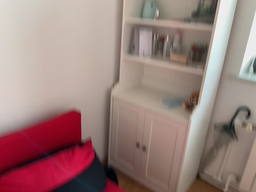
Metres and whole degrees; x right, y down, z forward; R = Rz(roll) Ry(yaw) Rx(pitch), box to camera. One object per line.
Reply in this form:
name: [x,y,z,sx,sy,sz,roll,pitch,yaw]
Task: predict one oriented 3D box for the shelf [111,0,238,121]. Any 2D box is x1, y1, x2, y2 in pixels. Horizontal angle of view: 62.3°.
shelf: [0.320,-0.520,1.640,0.790,1.160,0.400,19,25,34]
